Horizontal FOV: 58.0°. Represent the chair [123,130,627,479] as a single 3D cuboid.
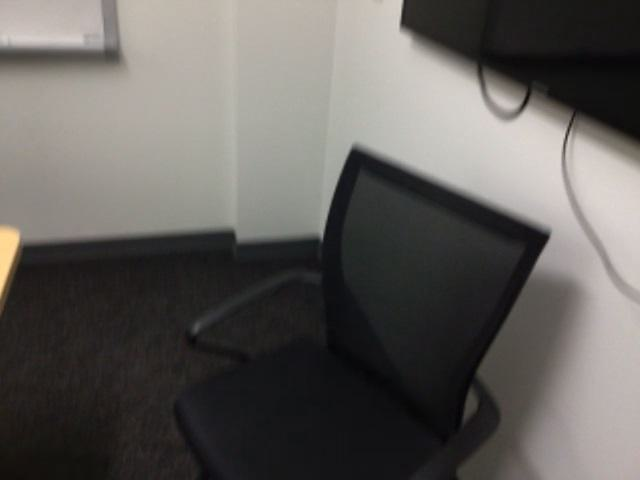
[{"bbox_3d":[0.030,0.310,1.120,0.570,0.840,0.580,-15,35,-36],"label":"chair"}]
